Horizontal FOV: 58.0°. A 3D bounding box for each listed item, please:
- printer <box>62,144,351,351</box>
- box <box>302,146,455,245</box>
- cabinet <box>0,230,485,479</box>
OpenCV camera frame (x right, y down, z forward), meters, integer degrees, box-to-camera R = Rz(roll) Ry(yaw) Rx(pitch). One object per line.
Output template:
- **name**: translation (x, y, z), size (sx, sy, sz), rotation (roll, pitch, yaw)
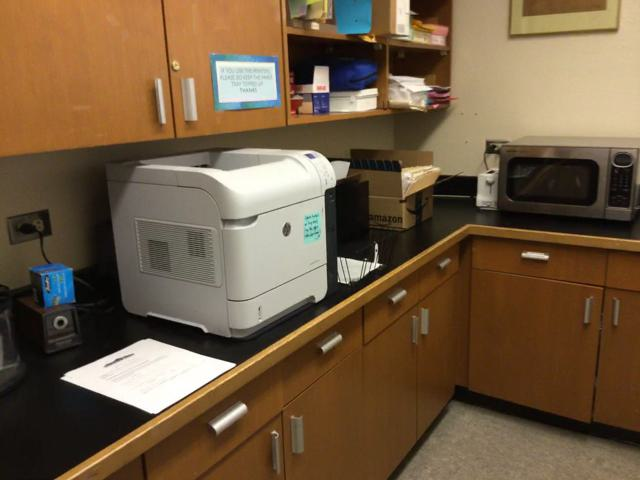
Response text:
- **printer**: translation (-0.290, -0.030, 1.570), size (0.570, 0.410, 0.470), rotation (6, 16, 34)
- **box**: translation (0.260, -0.210, 2.450), size (0.470, 0.330, 0.470), rotation (6, 16, 34)
- **cabinet**: translation (-0.260, 0.710, 1.210), size (0.150, 0.840, 3.160), rotation (6, 16, 34)
